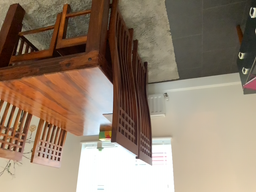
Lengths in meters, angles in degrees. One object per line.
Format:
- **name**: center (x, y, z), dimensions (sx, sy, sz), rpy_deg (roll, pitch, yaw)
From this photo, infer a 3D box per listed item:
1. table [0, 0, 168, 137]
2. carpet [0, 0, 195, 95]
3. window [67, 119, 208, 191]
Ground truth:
- **table**: center (-0.230, -0.180, 1.970), dimensions (0.940, 0.750, 1.340), rpy_deg (-7, 154, 17)
- **carpet**: center (-0.340, -0.620, 1.930), dimensions (1.720, 0.020, 2.500), rpy_deg (-7, 154, 17)
- **window**: center (0.060, 1.140, 2.590), dimensions (1.730, 1.560, 0.200), rpy_deg (-7, 154, 17)
